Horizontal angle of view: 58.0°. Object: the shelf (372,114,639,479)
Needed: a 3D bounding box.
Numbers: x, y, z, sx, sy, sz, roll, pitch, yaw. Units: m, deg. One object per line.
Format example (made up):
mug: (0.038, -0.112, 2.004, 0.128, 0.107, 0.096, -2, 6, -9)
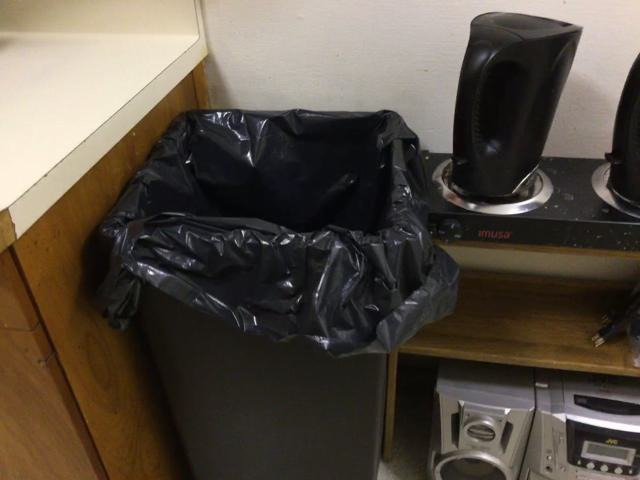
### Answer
shelf: (0.670, 0.210, 1.110, 1.100, 0.770, 0.360, 4, 35, 10)
